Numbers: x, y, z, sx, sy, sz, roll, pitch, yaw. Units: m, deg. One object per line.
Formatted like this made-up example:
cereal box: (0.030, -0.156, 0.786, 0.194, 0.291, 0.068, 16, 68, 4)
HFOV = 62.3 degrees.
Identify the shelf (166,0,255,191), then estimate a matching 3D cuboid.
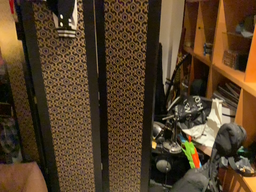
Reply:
shelf: (0.810, -0.100, 1.400, 0.520, 2.080, 2.440, 0, 22, -1)
